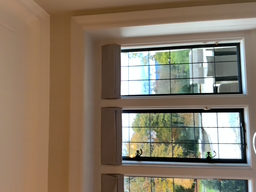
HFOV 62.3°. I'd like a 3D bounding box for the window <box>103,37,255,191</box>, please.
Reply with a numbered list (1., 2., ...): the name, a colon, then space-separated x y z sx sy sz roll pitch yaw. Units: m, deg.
1. window: 0.540 0.410 2.440 0.090 1.660 2.100 29 -119 -81
